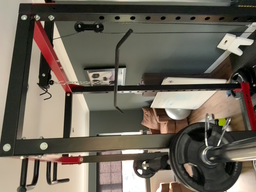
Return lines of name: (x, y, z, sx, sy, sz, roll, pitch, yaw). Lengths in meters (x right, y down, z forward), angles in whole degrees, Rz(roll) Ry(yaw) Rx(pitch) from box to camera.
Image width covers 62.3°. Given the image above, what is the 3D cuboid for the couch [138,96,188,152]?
couch: (0.750, 0.660, 5.020, 0.910, 0.870, 0.930, -97, 9, -48)
